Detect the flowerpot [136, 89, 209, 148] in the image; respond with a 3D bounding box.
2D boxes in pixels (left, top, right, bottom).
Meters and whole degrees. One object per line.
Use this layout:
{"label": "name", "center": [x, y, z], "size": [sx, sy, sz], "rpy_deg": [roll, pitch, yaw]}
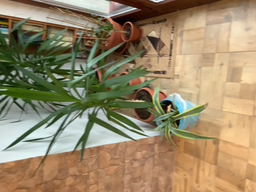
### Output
{"label": "flowerpot", "center": [0.330, 0.140, 1.620], "size": [0.340, 0.380, 0.340], "rpy_deg": [17, 104, 51]}
